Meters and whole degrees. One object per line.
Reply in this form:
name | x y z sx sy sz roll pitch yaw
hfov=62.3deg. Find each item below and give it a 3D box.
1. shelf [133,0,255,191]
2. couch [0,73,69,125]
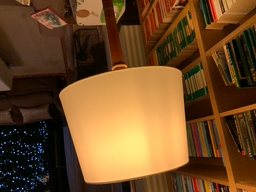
shelf | 0.640 -0.300 0.760 0.350 2.080 2.420 -5 168 -15
couch | -2.200 0.110 4.150 1.920 0.710 0.950 -5 168 -14
